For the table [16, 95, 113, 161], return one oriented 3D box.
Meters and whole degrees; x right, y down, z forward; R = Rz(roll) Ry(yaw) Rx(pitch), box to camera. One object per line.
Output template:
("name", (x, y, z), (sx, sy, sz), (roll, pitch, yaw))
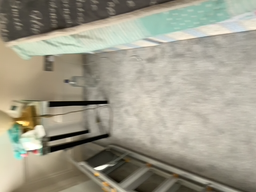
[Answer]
("table", (-0.530, 0.220, 1.830), (0.430, 0.670, 0.420), (4, 94, 42))
